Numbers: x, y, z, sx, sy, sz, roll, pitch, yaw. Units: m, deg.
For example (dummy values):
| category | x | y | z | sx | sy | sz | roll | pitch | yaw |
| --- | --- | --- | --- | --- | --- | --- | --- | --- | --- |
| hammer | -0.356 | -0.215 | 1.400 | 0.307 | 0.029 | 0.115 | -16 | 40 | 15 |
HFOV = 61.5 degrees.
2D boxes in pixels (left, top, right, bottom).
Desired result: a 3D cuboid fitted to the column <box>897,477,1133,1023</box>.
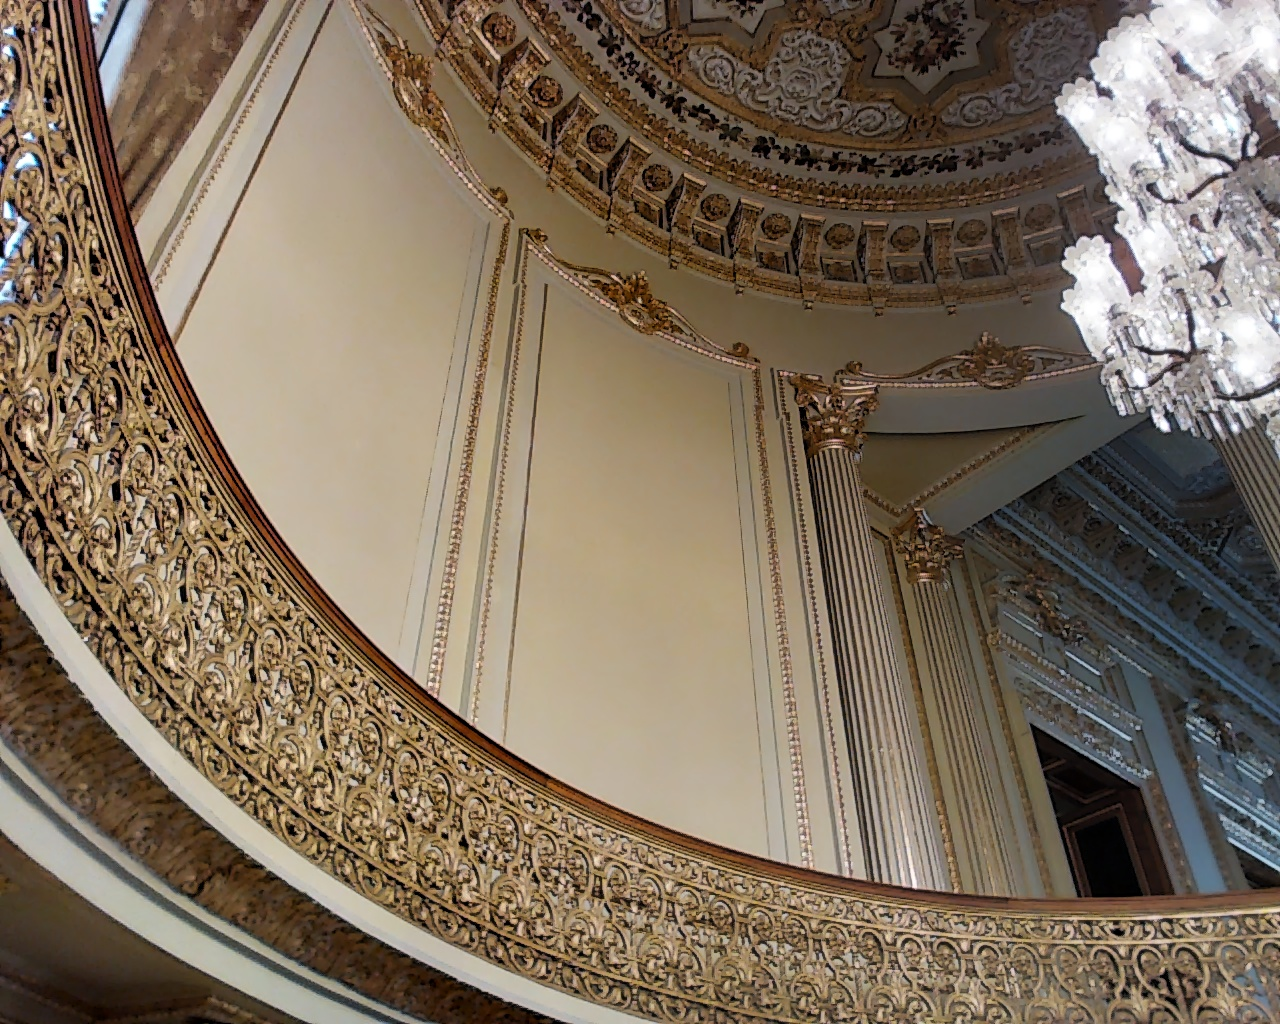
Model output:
| category | x | y | z | sx | sy | sz | roll | pitch | yaw |
| --- | --- | --- | --- | --- | --- | --- | --- | --- | --- |
| column | 2.338 | 1.741 | 6.750 | 0.720 | 4.722 | 0.360 | 30 | -49 | -28 |

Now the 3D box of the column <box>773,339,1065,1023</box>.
| category | x | y | z | sx | sy | sz | roll | pitch | yaw |
| --- | --- | --- | --- | --- | --- | --- | --- | --- | --- |
| column | 1.329 | 0.821 | 5.880 | 0.739 | 4.522 | 0.710 | 7 | -42 | -6 |
